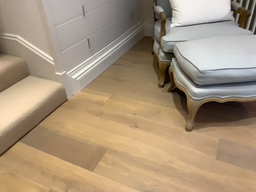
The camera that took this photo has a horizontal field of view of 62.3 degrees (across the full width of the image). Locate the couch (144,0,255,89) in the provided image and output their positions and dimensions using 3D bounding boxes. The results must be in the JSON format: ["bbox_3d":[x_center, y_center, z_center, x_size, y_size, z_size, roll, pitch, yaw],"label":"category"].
[{"bbox_3d":[0.600,-0.700,1.990,0.760,0.880,0.860,-5,36,-4],"label":"couch"}]
